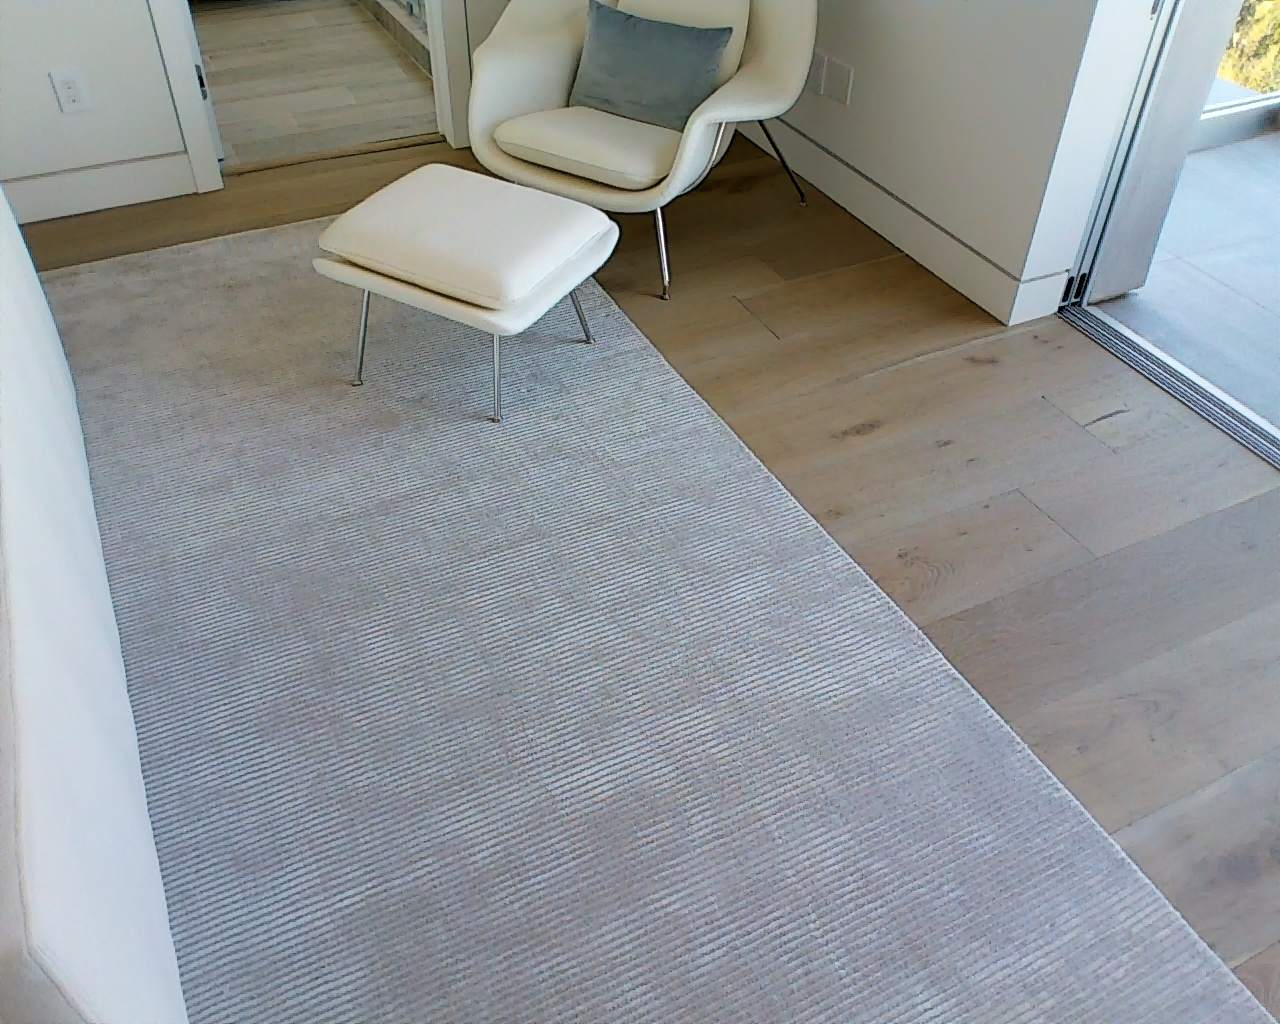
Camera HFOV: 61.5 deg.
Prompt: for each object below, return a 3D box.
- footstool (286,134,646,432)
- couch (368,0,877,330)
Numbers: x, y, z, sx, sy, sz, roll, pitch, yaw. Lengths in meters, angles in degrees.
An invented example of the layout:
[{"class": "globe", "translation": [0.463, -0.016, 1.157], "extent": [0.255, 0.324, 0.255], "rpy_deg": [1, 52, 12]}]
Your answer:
[{"class": "footstool", "translation": [-0.400, -0.600, 2.690], "extent": [0.610, 0.390, 0.610], "rpy_deg": [19, 44, 22]}, {"class": "couch", "translation": [-0.010, -1.290, 3.120], "extent": [1.050, 0.930, 1.010], "rpy_deg": [20, 44, 23]}]
